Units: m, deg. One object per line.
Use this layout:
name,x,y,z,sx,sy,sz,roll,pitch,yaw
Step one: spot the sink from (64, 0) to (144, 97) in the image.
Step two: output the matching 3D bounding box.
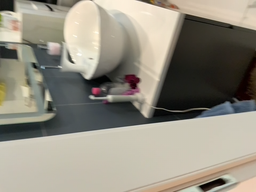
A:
sink,-0.180,-0.290,1.200,0.540,0.200,0.370,44,128,48
